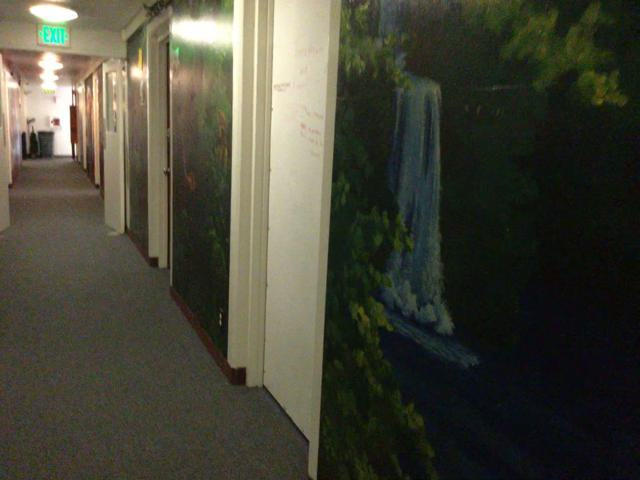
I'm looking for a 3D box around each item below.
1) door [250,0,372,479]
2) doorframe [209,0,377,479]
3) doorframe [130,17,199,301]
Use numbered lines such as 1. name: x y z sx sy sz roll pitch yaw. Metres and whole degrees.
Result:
1. door: -0.090 -0.130 2.500 0.130 2.120 0.880 -3 11 -26
2. doorframe: -0.160 -0.160 2.530 0.240 2.130 1.120 -6 11 -25
3. doorframe: -1.340 -0.660 4.930 0.220 2.150 1.060 -6 11 -25
